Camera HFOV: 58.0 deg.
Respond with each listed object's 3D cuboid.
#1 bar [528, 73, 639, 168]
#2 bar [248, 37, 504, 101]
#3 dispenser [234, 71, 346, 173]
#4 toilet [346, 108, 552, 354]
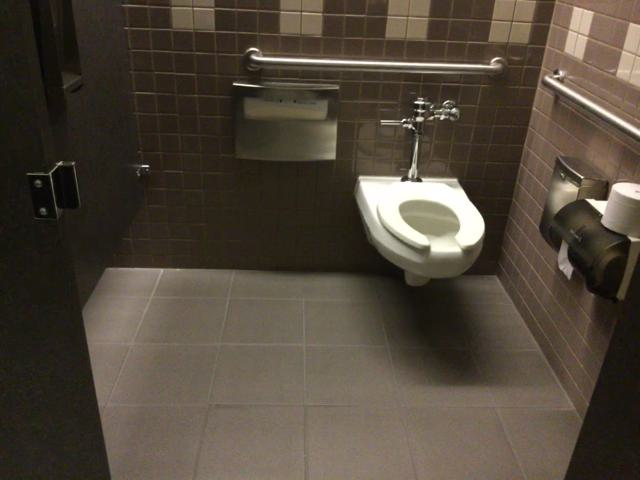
[{"bbox_3d":[0.800,-0.300,1.550,0.090,0.080,1.080,5,26,-4],"label":"bar"},{"bbox_3d":[0.200,-0.620,2.100,0.910,0.120,0.080,5,26,-4],"label":"bar"},{"bbox_3d":[-0.120,-0.440,2.180,0.390,0.340,0.060,5,26,-4],"label":"dispenser"},{"bbox_3d":[0.390,-0.060,2.080,0.480,0.630,0.650,5,26,-4],"label":"toilet"}]
